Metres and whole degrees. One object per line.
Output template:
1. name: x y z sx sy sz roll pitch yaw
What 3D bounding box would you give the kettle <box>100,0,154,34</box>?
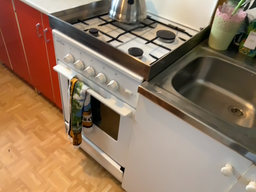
1. kettle: 0.000 -0.470 1.050 0.190 0.220 0.180 33 46 24

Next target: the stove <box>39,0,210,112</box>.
1. stove: 0.000 -0.270 1.050 0.580 0.160 0.570 33 46 24

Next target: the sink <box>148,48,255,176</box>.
1. sink: 0.350 0.020 0.830 0.370 0.170 0.380 33 46 24
